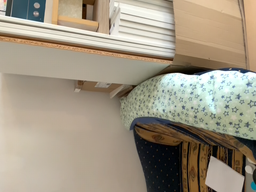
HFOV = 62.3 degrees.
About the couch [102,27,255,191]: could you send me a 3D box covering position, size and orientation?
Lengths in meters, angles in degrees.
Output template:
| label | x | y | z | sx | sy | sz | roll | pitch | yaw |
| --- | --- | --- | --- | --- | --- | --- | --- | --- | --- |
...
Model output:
| label | x | y | z | sx | sy | sz | roll | pitch | yaw |
| --- | --- | --- | --- | --- | --- | --- | --- | --- | --- |
| couch | 0.520 | 0.400 | 1.400 | 1.410 | 1.020 | 0.970 | 161 | 112 | -67 |
